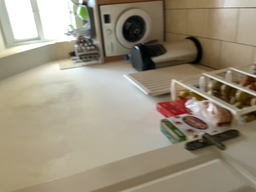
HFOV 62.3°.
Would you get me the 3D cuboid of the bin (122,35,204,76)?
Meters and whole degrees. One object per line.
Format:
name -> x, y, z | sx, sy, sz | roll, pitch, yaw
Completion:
bin -> 0.380, -0.480, 2.380 | 0.460, 0.760, 0.270 | -133, 36, -60
